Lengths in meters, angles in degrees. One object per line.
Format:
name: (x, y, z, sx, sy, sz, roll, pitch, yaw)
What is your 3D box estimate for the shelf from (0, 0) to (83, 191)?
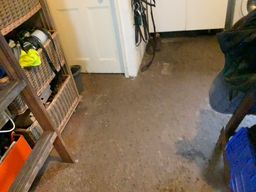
shelf: (-0.880, -0.090, 1.310, 0.430, 1.360, 1.370, 1, 39, 13)
